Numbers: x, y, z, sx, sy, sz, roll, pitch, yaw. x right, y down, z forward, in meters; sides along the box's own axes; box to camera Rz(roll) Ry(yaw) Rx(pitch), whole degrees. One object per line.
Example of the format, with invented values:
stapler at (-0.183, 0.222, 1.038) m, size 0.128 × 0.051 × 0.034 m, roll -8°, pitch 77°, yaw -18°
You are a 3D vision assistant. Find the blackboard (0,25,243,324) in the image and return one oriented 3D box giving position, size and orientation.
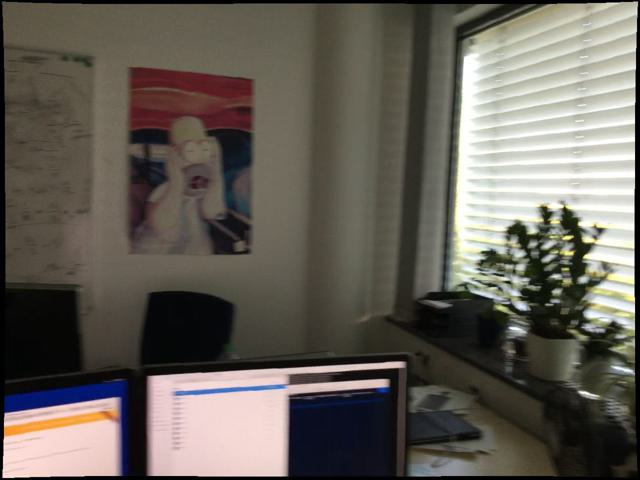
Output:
blackboard at (-1.798, -0.280, 2.580) m, size 2.887 × 1.331 × 0.190 m, roll -1°, pitch 7°, yaw -16°

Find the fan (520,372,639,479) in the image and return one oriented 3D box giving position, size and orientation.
fan at (0.689, 0.551, 1.510) m, size 0.220 × 0.330 × 0.210 m, roll -1°, pitch 7°, yaw -19°

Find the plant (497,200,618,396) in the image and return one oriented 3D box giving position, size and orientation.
plant at (0.869, 0.190, 2.160) m, size 0.200 × 0.661 × 0.360 m, roll -1°, pitch 7°, yaw -15°
